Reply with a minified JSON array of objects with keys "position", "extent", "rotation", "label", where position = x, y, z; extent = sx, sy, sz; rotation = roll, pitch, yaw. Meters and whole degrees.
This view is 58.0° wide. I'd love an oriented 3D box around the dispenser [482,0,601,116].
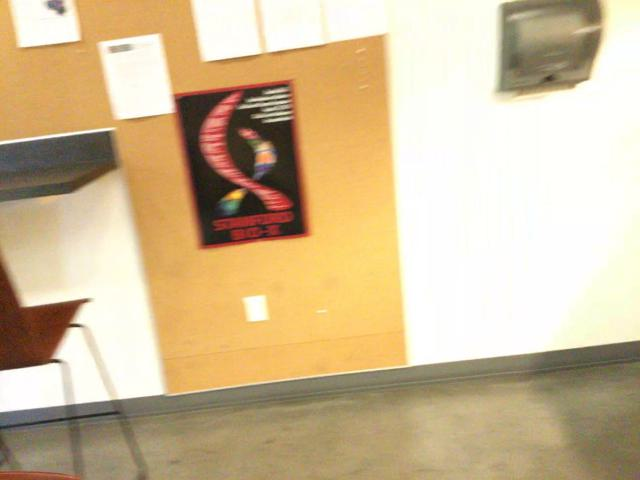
[{"position":[0.740,-0.640,1.950],"extent":[0.290,0.360,0.230],"rotation":[-11,18,5],"label":"dispenser"}]
